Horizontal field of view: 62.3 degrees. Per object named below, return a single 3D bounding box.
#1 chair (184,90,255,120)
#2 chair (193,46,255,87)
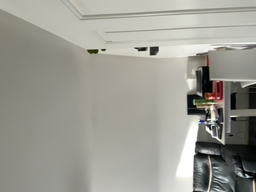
[{"bbox_3d":[1.430,0.130,3.410,0.390,0.980,0.420,-42,-49,-84],"label":"chair"},{"bbox_3d":[1.370,-0.340,2.620,0.550,0.970,0.390,36,-127,-84],"label":"chair"}]
